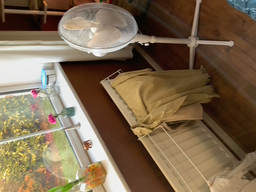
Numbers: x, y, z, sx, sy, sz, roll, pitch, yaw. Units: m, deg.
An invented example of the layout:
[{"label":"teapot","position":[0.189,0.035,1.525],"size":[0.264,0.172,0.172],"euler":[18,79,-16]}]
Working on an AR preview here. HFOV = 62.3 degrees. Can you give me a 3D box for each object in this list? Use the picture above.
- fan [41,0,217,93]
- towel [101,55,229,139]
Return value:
[{"label":"fan","position":[0.040,-0.370,1.400],"size":[0.420,1.040,0.360],"euler":[55,138,29]},{"label":"towel","position":[0.260,-0.050,1.420],"size":[0.510,0.710,0.130],"euler":[54,138,30]}]
